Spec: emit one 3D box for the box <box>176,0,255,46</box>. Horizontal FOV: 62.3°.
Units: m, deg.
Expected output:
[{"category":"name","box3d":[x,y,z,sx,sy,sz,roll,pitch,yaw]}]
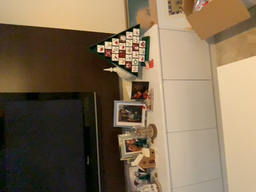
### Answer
[{"category":"box","box3d":[0.690,-0.800,1.520,0.730,0.300,0.670,171,97,-67]}]
